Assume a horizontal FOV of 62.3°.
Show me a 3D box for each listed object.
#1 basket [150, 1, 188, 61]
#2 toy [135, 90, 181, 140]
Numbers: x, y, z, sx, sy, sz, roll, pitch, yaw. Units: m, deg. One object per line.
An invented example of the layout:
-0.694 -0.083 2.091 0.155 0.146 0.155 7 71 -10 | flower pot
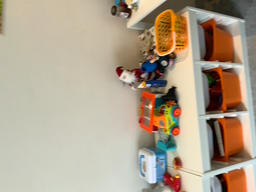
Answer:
0.250 -0.390 1.330 0.240 0.080 0.290 -10 83 62 | basket
0.190 0.110 1.430 0.330 0.130 0.280 7 98 62 | toy
